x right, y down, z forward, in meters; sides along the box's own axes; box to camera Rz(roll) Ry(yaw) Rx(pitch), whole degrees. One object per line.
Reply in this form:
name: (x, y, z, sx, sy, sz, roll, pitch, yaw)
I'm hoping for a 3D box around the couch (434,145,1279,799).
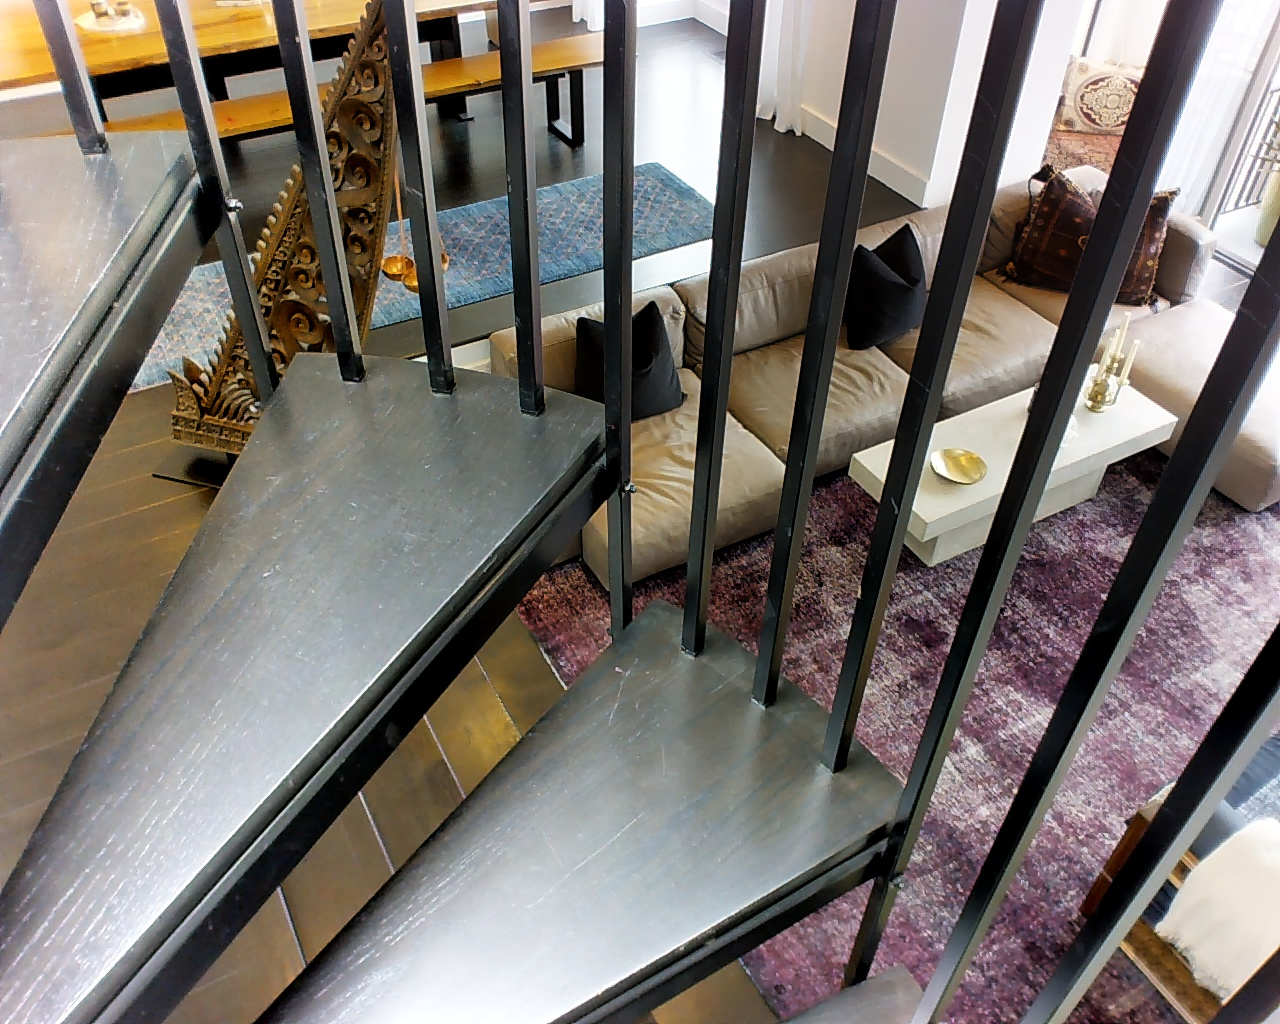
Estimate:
couch: (1.320, -0.530, 4.840, 3.850, 0.710, 2.130, -20, 47, -22)
